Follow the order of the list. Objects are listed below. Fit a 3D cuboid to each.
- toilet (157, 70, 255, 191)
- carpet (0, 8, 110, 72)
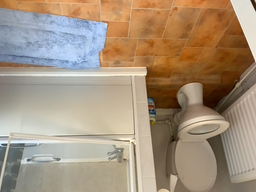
[{"bbox_3d":[0.610,0.330,1.830,0.480,0.860,0.650,1,152,-8],"label":"toilet"},{"bbox_3d":[-0.550,-0.340,1.390,0.790,0.050,0.440,5,152,-14],"label":"carpet"}]
